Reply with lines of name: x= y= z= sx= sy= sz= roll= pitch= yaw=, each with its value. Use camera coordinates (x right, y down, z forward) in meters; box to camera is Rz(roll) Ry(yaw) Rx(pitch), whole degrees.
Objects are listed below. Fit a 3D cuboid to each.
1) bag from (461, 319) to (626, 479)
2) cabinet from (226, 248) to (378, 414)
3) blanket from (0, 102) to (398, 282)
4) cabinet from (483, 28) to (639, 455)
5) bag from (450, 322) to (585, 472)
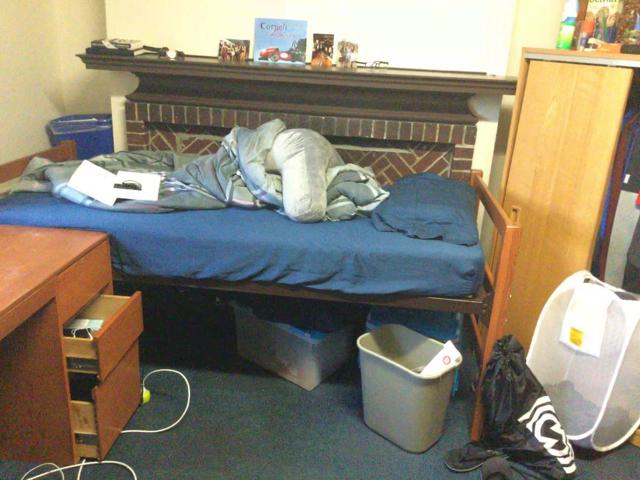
bag: x=0.760 y=0.580 z=2.050 sx=0.420 sy=0.490 sz=0.280 roll=4 pitch=19 yaw=4
cabinet: x=-0.090 y=0.370 z=2.560 sx=0.510 sy=0.480 sz=0.410 roll=19 pitch=25 yaw=39
blanket: x=-0.600 y=-0.270 z=2.510 sx=1.800 sy=0.480 sz=0.860 roll=4 pitch=19 yaw=4
cabinet: x=1.310 y=-0.040 z=2.320 sx=0.640 sy=1.490 sz=0.880 roll=-11 pitch=23 yaw=-34
bag: x=0.680 y=0.530 z=2.020 sx=0.270 sy=0.340 sz=0.300 roll=-12 pitch=23 yaw=-36
